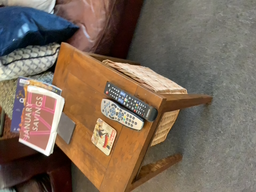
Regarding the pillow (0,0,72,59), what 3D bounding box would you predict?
[{"bbox_3d":[-0.550,-0.360,1.020,0.410,0.400,0.160,-74,3,-67],"label":"pillow"}]
